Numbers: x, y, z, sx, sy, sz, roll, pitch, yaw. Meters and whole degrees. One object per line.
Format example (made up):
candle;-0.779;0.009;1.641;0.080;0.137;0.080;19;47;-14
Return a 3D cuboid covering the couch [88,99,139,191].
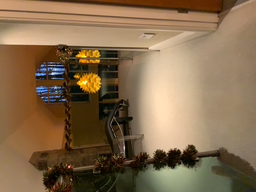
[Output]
couch;-0.300;0.820;3.690;0.610;0.660;1.400;132;134;-67
